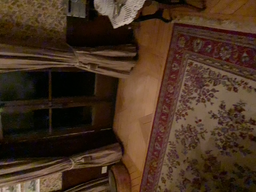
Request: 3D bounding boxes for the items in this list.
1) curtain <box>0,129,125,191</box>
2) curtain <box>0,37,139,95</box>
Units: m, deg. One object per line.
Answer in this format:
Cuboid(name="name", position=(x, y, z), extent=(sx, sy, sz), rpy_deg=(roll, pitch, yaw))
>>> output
Cuboid(name="curtain", position=(-1.550, 1.090, 2.910), extent=(0.380, 3.130, 0.770), rpy_deg=(32, 121, 56))
Cuboid(name="curtain", position=(-1.470, -0.350, 2.390), extent=(0.460, 3.360, 0.560), rpy_deg=(38, 126, 55))
